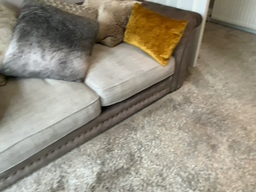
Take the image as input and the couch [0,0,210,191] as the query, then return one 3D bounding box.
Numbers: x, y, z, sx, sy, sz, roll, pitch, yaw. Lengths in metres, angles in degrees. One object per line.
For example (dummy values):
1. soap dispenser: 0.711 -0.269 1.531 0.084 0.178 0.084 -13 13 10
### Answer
1. couch: -0.520 -0.280 1.650 2.130 0.830 1.070 -28 45 -30
